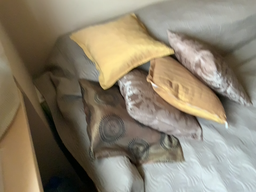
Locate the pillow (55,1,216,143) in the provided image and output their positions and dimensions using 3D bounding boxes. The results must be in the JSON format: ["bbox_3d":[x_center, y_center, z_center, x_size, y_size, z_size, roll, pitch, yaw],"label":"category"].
[{"bbox_3d":[-0.020,-0.180,0.980,0.420,0.210,0.670,-25,46,-15],"label":"pillow"}]

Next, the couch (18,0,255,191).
[{"bbox_3d":[0.690,-0.140,1.270,2.220,0.700,1.200,-24,46,-14],"label":"couch"}]

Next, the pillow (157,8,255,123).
[{"bbox_3d":[0.390,-0.170,1.080,0.300,0.350,0.410,-23,45,-13],"label":"pillow"}]
